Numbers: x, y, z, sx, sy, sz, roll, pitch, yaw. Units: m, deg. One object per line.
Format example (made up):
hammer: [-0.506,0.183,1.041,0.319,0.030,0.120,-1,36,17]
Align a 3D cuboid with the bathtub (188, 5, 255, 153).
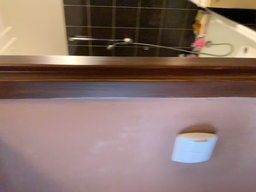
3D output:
bathtub: [1.100,-0.150,1.620,1.840,0.560,0.670,-100,11,-56]
